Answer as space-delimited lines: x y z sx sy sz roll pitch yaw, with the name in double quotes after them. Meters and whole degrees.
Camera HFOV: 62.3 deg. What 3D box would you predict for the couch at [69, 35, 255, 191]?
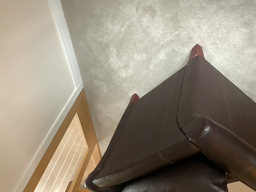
0.370 0.410 1.520 1.030 0.870 0.940 34 133 -16 "couch"
